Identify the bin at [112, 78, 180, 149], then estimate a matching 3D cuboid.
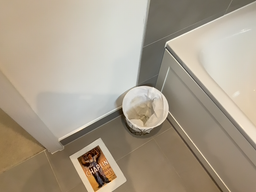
[{"bbox_3d":[0.090,0.110,1.250,0.290,0.270,0.220,-29,67,-16],"label":"bin"}]
